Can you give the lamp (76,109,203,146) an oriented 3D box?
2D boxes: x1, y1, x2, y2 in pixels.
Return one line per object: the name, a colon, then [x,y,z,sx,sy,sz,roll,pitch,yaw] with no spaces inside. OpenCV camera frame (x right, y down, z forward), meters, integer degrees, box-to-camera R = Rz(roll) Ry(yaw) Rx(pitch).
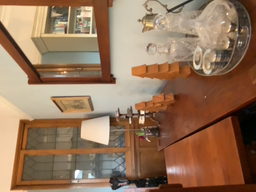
lamp: [0.130,0.400,2.690,0.380,1.490,0.340,102,166,-68]
